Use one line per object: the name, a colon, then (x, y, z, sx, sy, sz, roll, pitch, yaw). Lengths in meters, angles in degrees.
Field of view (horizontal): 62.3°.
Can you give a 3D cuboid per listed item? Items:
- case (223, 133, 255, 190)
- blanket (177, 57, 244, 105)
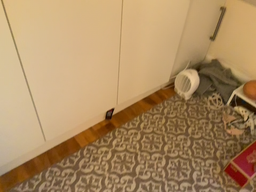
case: (0.770, 0.380, 1.300, 0.350, 0.100, 0.170, -26, 52, -30)
blanket: (0.710, -0.150, 1.830, 0.380, 0.090, 0.400, -32, 55, -33)
